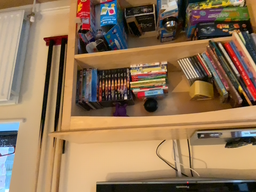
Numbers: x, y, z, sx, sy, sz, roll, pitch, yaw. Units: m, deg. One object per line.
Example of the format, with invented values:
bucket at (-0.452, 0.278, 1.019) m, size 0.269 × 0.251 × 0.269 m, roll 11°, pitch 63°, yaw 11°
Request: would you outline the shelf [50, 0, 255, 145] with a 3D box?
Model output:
shelf at (0.180, -0.350, 1.200) m, size 0.990 × 1.140 × 0.420 m, roll -5°, pitch 161°, yaw 9°
